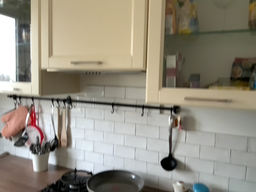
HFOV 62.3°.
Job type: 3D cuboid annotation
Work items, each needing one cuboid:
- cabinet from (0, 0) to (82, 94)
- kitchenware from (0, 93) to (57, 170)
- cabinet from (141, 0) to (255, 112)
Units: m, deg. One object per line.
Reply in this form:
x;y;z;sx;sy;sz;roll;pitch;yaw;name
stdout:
-0.900;-0.520;1.460;1.140;0.930;0.360;4;5;23;cabinet
-0.830;0.240;1.610;0.590;0.480;0.160;4;5;22;kitchenware
0.370;-0.430;0.930;0.500;0.930;0.350;4;5;23;cabinet
